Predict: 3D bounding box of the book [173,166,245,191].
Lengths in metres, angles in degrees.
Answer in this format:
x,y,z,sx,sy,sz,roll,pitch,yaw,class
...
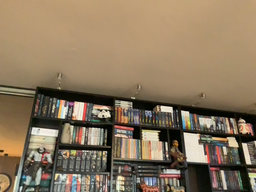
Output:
x,y,z,sx,sy,sz,roll,pitch,yaw,class
0.920,0.990,2.420,0.750,0.320,0.230,7,-25,-14,book

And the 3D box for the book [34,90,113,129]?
x,y,z,sx,sy,sz,roll,pitch,yaw,class
-0.560,0.160,2.260,0.760,0.290,0.200,7,-25,-14,book

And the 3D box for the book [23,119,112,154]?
x,y,z,sx,sy,sz,roll,pitch,yaw,class
-0.580,0.420,2.130,0.800,0.250,0.200,7,-25,-14,book

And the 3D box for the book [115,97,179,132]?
x,y,z,sx,sy,sz,roll,pitch,yaw,class
0.220,0.220,2.470,0.700,0.300,0.180,7,-25,-14,book

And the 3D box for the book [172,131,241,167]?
x,y,z,sx,sy,sz,roll,pitch,yaw,class
0.930,0.640,2.530,0.760,0.350,0.180,7,-25,-14,book

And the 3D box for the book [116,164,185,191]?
x,y,z,sx,sy,sz,roll,pitch,yaw,class
0.230,0.890,2.200,0.690,0.310,0.150,7,-25,-14,book

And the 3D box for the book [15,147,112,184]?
x,y,z,sx,sy,sz,roll,pitch,yaw,class
-0.580,0.680,2.030,0.820,0.290,0.210,7,-25,-14,book
